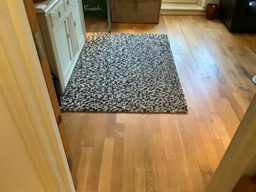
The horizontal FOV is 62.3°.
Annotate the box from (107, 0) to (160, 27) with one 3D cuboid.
[{"bbox_3d":[0.090,-1.540,3.710,0.850,0.460,0.520,2,39,0],"label":"box"}]
